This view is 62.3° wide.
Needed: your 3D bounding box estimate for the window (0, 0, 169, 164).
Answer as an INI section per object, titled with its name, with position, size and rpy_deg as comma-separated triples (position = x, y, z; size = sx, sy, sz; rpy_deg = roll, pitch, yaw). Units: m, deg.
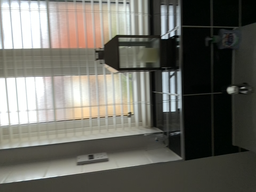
[window]
position = -0.290, -0.150, 1.190
size = 0.110, 1.040, 0.930
rpy_deg = -170, 77, -76
